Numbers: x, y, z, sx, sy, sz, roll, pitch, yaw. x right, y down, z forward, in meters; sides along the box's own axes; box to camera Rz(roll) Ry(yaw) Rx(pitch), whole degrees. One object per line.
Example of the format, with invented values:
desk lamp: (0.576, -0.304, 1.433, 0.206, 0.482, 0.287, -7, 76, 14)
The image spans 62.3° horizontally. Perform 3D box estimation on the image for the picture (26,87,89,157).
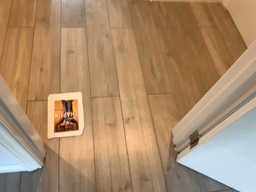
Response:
picture: (-0.400, 0.140, 1.250, 0.260, 0.030, 0.390, 9, 60, -4)
